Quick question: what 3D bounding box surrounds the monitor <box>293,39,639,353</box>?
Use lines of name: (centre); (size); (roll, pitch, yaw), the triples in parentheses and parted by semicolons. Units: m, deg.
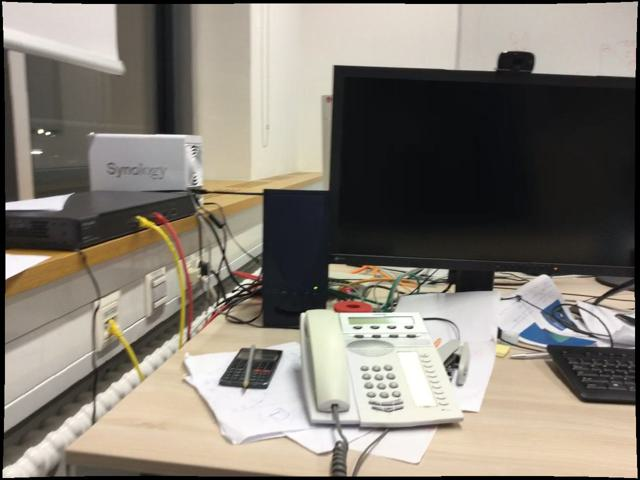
monitor: (0.380, -0.090, 1.140); (0.819, 0.531, 0.230); (4, 10, 7)

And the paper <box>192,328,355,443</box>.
paper: (-0.090, 0.200, 0.870); (0.190, 0.020, 0.340); (0, 10, -14)
